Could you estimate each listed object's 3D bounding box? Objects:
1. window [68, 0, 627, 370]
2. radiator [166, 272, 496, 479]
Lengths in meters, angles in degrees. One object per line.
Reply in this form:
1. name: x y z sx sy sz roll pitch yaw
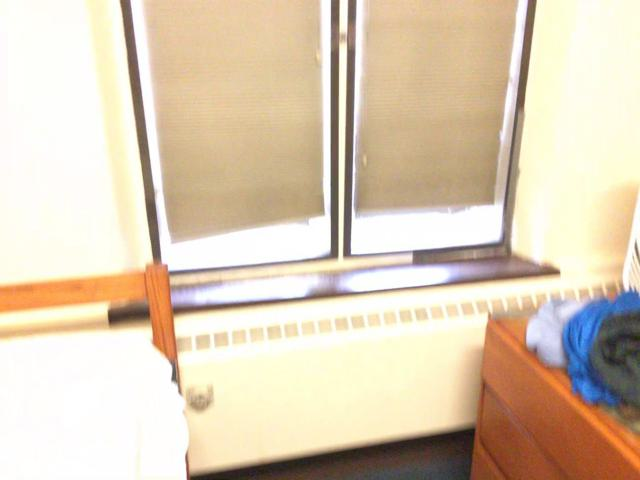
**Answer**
1. window: 0.100 -0.480 1.490 1.320 1.540 0.240 -6 21 -8
2. radiator: 0.050 0.450 1.720 0.900 0.600 0.150 -6 21 -8
